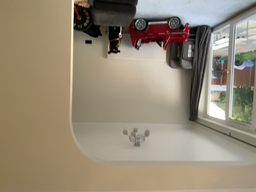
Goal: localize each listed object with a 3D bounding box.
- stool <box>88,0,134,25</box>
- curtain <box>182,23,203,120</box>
[{"bbox_3d":[-0.300,-1.430,3.420,0.660,0.310,0.740,1,-177,-10],"label":"stool"},{"bbox_3d":[1.500,-0.550,4.990,0.220,2.160,0.440,2,-177,-6],"label":"curtain"}]
